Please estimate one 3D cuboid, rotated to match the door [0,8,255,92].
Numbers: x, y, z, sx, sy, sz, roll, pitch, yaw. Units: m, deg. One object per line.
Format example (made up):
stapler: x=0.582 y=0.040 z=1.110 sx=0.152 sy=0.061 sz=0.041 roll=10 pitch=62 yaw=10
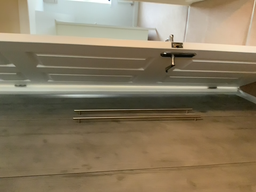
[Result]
door: x=0.050 y=-0.180 z=1.240 sx=0.750 sy=2.030 sz=0.130 roll=136 pitch=134 yaw=-74
